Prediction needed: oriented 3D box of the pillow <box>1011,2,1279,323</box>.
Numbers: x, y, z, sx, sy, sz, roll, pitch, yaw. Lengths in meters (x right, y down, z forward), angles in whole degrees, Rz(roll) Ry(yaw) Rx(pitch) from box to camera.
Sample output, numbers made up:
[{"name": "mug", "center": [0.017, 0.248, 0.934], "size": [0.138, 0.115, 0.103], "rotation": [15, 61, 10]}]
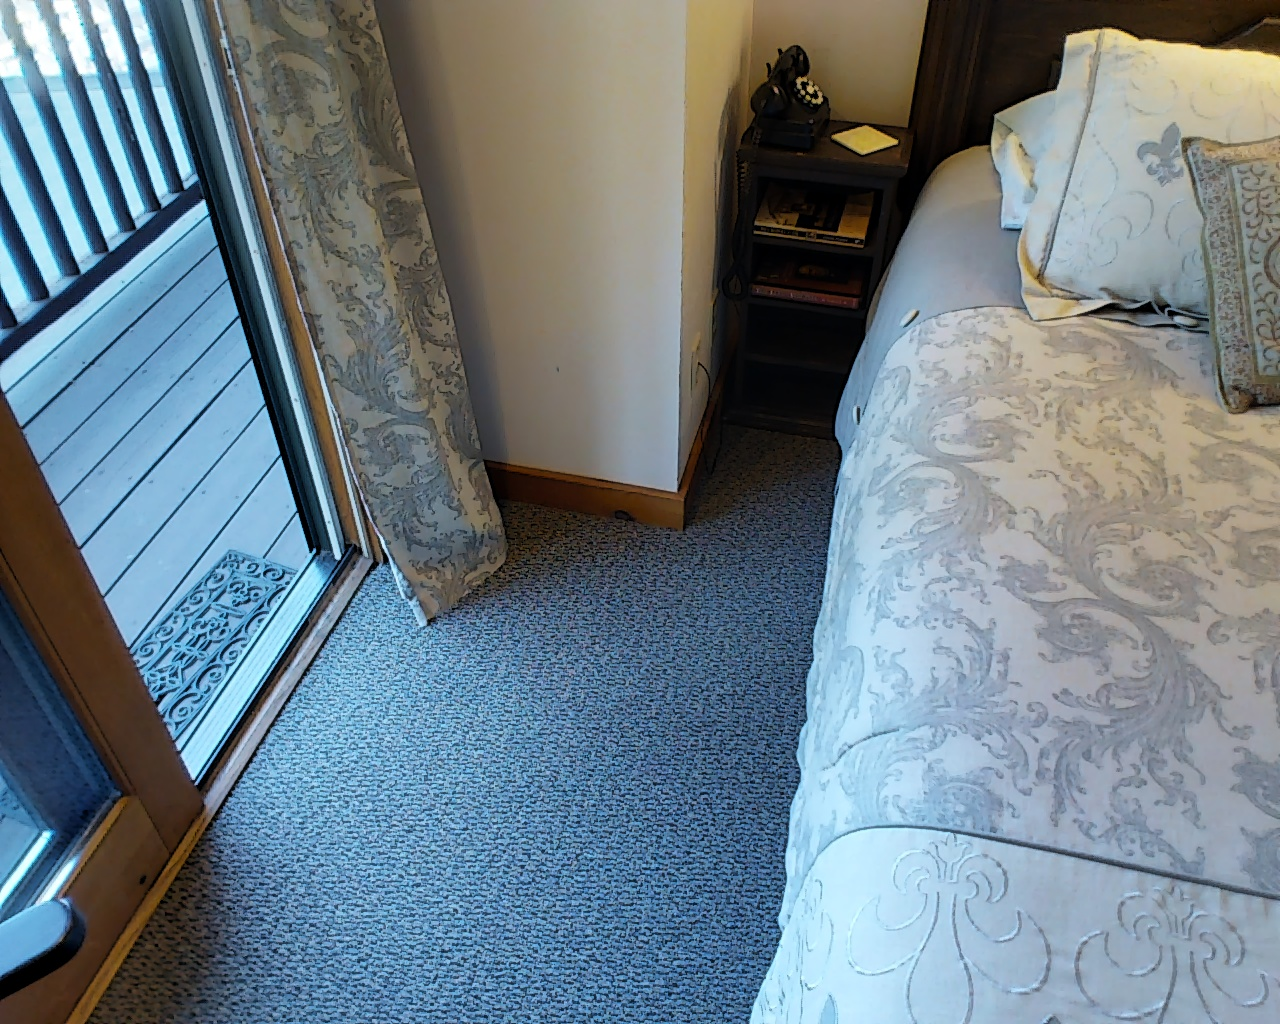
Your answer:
[{"name": "pillow", "center": [0.950, -0.530, 1.630], "size": [0.690, 0.290, 0.430], "rotation": [8, 44, 11]}]

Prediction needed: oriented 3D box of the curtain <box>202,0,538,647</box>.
[{"name": "curtain", "center": [-0.390, -0.660, 1.490], "size": [0.190, 2.130, 0.380], "rotation": [9, 44, 12]}]
